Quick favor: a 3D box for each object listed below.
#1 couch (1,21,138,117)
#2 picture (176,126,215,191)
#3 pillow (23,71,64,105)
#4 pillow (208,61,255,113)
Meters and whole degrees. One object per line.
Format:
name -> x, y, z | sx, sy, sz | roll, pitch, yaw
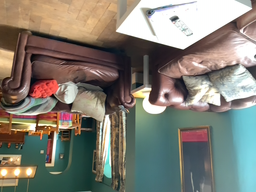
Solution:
couch -> -0.730, -0.200, 2.720 | 1.390, 0.710, 1.030 | 7, 165, -25
picture -> 0.900, 1.050, 2.890 | 0.040, 1.230, 0.630 | 8, 165, -27
pillow -> -0.970, -0.080, 2.450 | 0.380, 0.250, 0.170 | 17, 142, -34
pillow -> 1.030, -0.100, 2.080 | 0.120, 0.370, 0.420 | 8, 104, -28
